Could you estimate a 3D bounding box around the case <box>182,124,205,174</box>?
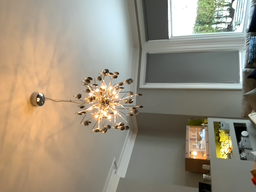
[{"bbox_3d":[1.320,1.030,4.270,0.980,0.390,0.300,-68,-26,-51],"label":"case"}]
